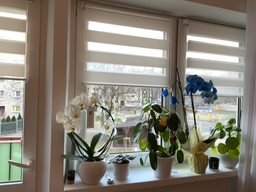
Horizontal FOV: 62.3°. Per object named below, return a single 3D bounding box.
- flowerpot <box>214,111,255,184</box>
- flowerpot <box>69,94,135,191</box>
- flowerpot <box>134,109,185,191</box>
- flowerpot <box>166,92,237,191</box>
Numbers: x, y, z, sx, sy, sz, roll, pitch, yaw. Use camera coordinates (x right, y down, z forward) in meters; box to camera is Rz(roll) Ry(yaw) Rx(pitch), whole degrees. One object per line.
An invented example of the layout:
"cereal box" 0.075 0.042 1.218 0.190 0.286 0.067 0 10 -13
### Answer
"flowerpot" 0.820 0.350 1.540 0.290 0.460 0.210 2 0 -21
"flowerpot" -0.160 0.250 1.240 0.300 0.510 0.250 2 0 -26
"flowerpot" 0.200 0.330 1.380 0.250 0.470 0.190 2 0 -20
"flowerpot" 0.500 0.280 1.500 0.290 0.600 0.360 2 0 -23
